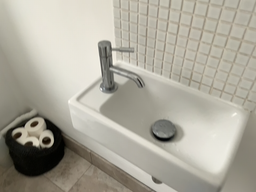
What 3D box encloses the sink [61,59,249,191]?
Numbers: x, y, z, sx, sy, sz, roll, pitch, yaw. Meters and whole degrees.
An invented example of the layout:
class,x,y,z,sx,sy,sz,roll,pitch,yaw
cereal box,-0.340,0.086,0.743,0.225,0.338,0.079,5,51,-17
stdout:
class,x,y,z,sx,sy,sz,roll,pitch,yaw
sink,0.060,0.080,0.580,0.410,0.160,0.220,24,48,23
